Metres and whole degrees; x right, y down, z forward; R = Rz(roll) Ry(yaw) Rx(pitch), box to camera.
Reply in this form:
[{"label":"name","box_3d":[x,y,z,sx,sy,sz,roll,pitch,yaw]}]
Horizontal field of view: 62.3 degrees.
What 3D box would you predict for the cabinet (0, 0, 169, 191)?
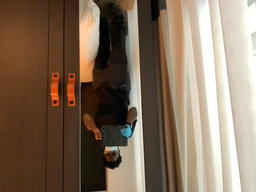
[{"label":"cabinet","box_3d":[-0.350,-0.180,1.340,0.980,2.010,0.620,-1,172,-6]}]
